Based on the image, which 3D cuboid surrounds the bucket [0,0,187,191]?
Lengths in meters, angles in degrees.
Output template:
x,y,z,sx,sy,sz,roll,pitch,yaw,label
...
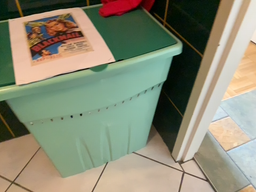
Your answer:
x,y,z,sx,sy,sz,roll,pitch,yaw,label
-0.150,0.010,0.760,0.490,0.580,0.320,-17,49,-17,bucket
